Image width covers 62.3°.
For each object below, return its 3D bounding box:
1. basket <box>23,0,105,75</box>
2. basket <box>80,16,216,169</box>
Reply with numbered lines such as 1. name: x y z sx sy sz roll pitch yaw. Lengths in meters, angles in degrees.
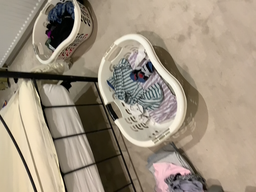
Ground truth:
1. basket: -0.580 -0.590 1.820 0.680 0.530 0.240 -31 161 35
2. basket: 0.070 -0.010 1.300 0.550 0.680 0.240 -40 157 31
